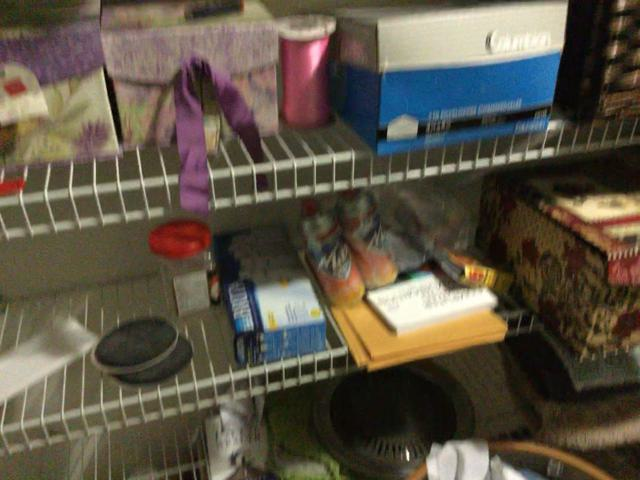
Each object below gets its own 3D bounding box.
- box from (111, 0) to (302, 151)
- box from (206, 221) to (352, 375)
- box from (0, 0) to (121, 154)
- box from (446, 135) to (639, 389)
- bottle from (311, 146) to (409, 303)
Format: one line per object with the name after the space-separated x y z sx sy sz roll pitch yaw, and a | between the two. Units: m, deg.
-0.160 -0.240 0.790 0.210 0.130 0.250 -9 31 -13 | box
-0.080 0.080 0.970 0.180 0.070 0.300 -9 31 -13 | box
-0.350 -0.220 0.720 0.170 0.130 0.260 -9 31 -13 | box
0.520 0.000 0.990 0.460 0.210 0.370 -9 31 -13 | box
0.060 -0.020 0.900 0.140 0.240 0.030 -9 31 -13 | bottle
